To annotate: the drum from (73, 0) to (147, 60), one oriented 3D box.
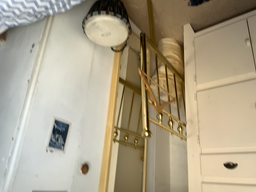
[{"bbox_3d":[-0.080,-0.540,1.260,0.260,0.510,0.310,-11,154,33],"label":"drum"}]
